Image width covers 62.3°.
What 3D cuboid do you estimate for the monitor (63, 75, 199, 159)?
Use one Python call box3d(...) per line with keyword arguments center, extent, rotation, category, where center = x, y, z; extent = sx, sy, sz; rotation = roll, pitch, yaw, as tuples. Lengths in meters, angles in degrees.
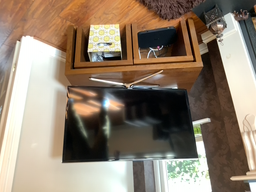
box3d(center=(0.030, 0.140, 1.550), extent=(0.930, 0.590, 0.040), rotation=(2, 157, -9), category="monitor")
